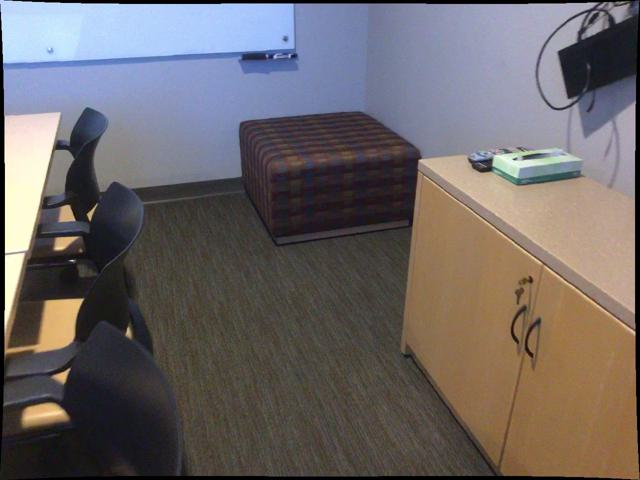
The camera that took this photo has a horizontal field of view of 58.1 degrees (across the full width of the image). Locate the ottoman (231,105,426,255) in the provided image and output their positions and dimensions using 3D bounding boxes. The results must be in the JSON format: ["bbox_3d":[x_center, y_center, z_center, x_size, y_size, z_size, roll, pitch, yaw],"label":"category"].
[{"bbox_3d":[0.000,-0.361,3.050,0.789,0.491,0.750,-7,29,-18],"label":"ottoman"}]

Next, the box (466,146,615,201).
[{"bbox_3d":[0.639,-0.200,1.680,0.359,0.070,0.190,-7,29,-18],"label":"box"}]

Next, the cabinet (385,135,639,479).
[{"bbox_3d":[0.699,0.311,1.480,0.519,0.791,1.210,-7,29,-18],"label":"cabinet"}]
